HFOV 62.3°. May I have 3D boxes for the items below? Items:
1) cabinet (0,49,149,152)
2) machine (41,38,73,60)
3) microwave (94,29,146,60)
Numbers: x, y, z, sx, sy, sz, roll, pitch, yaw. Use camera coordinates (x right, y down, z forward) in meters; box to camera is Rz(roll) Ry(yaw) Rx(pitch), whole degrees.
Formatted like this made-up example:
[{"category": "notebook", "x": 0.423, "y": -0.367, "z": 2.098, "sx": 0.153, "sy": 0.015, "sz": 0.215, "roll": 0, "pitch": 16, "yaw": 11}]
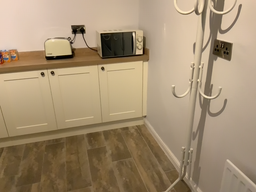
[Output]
[{"category": "cabinet", "x": -1.060, "y": 0.070, "z": 2.300, "sx": 2.600, "sy": 0.900, "sz": 0.340, "roll": -7, "pitch": 25, "yaw": -14}, {"category": "machine", "x": -0.740, "y": -0.500, "z": 2.220, "sx": 0.280, "sy": 0.170, "sz": 0.210, "roll": -8, "pitch": 25, "yaw": -14}, {"category": "microwave", "x": -0.090, "y": -0.580, "z": 2.330, "sx": 0.500, "sy": 0.250, "sz": 0.300, "roll": -7, "pitch": 25, "yaw": -13}]
